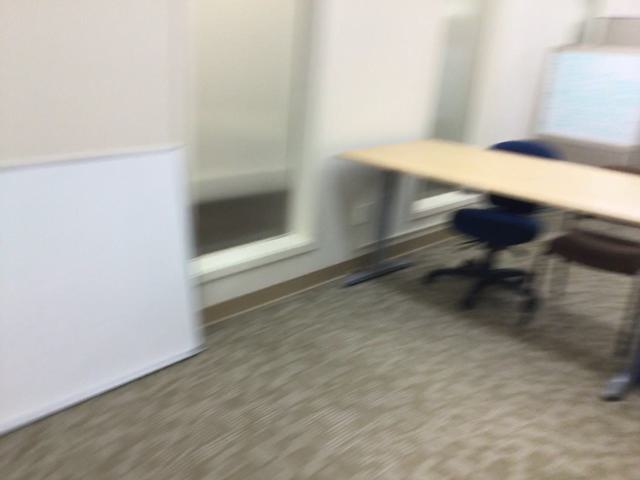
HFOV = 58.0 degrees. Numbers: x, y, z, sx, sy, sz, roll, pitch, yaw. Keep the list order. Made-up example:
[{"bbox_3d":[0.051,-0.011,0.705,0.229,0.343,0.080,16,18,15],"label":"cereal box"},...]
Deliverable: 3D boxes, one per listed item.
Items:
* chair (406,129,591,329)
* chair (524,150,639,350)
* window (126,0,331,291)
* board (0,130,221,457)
[{"bbox_3d":[0.930,-0.110,3.080,0.640,0.800,0.680,18,28,42],"label":"chair"},{"bbox_3d":[1.340,0.010,2.710,0.460,0.720,0.570,18,28,42],"label":"chair"},{"bbox_3d":[-0.360,-0.610,2.630,0.290,1.470,0.840,18,28,42],"label":"window"},{"bbox_3d":[-0.950,0.190,2.050,0.190,0.900,1.200,18,32,41],"label":"board"}]
